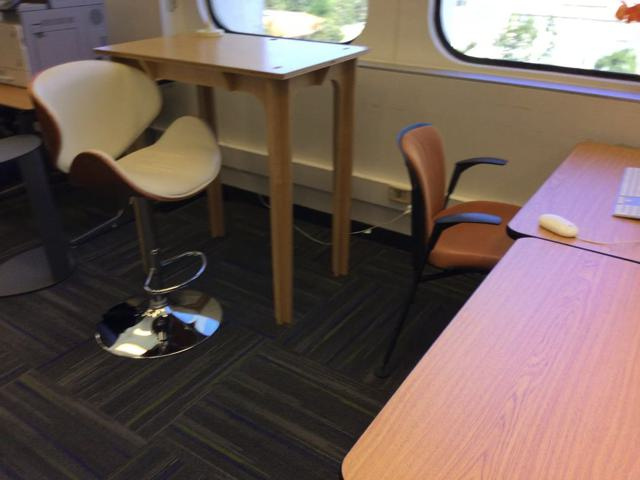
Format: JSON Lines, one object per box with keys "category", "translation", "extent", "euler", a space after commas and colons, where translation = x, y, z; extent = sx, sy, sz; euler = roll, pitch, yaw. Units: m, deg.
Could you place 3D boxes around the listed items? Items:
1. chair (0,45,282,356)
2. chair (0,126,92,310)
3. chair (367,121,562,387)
{"category": "chair", "translation": [-0.630, -0.200, 2.110], "extent": [0.630, 0.890, 0.620], "euler": [13, 30, 35]}
{"category": "chair", "translation": [-1.390, -0.110, 2.500], "extent": [0.420, 0.630, 0.470], "euler": [13, 30, 35]}
{"category": "chair", "translation": [0.500, 0.000, 2.010], "extent": [0.520, 0.720, 0.560], "euler": [7, 21, 18]}
